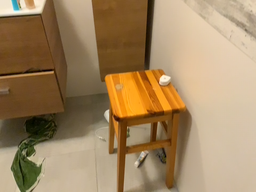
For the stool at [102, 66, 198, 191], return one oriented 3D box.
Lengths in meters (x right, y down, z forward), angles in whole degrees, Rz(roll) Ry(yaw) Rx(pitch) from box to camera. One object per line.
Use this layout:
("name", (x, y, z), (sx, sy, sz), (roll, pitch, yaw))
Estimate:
("stool", (0.070, 0.200, 1.100), (0.340, 0.590, 0.330), (-6, 41, -8))
